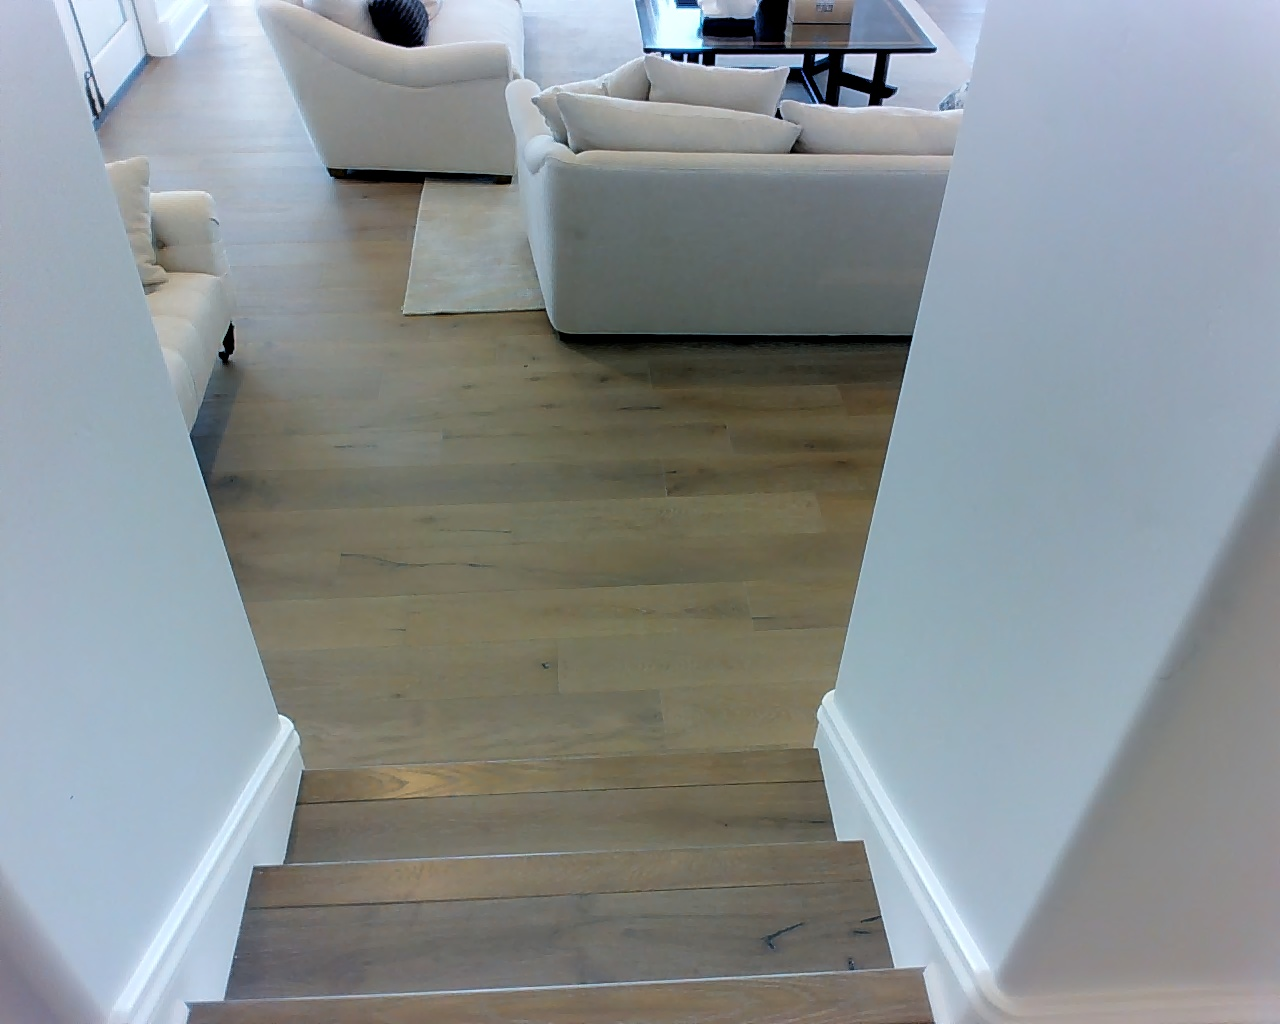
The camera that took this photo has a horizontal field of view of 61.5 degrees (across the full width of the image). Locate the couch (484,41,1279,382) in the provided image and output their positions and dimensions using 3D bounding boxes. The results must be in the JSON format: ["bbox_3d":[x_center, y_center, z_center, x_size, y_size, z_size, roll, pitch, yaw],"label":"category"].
[{"bbox_3d":[0.840,-1.150,4.060,2.690,0.810,1.120,0,41,-2],"label":"couch"}]

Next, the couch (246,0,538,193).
[{"bbox_3d":[-1.130,-2.650,5.640,1.140,0.830,2.640,-2,41,-4],"label":"couch"}]
